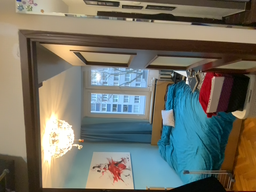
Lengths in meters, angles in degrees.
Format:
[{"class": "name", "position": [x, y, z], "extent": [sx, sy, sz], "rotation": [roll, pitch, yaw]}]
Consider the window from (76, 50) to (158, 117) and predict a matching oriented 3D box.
[{"class": "window", "position": [-0.300, -0.270, 5.100], "extent": [0.180, 1.850, 1.520], "rotation": [-103, 16, -73]}]
